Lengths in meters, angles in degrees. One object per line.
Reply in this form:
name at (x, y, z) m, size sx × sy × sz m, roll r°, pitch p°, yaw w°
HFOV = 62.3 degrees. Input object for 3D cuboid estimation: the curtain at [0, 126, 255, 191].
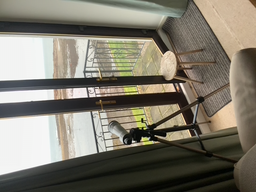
curtain at (0.090, 0.490, 1.230) m, size 0.170 × 2.270 × 0.370 m, roll 115°, pitch 144°, yaw -51°
